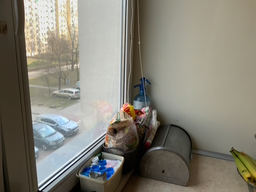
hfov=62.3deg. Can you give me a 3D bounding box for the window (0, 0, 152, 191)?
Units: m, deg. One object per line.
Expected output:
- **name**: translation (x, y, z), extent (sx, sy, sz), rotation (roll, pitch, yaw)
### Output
- **window**: translation (-0.100, -0.370, 0.830), extent (0.130, 1.450, 0.910), rotation (8, 15, 21)
